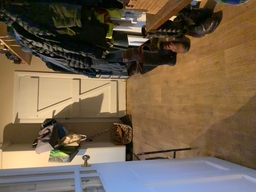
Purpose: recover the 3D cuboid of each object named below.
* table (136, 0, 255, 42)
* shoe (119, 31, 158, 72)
[{"bbox_3d":[0.450,-0.670,1.550,1.140,0.450,0.260,-176,87,-75],"label":"table"},{"bbox_3d":[0.120,-0.580,2.900,0.570,0.370,0.420,-176,87,-75],"label":"shoe"}]
